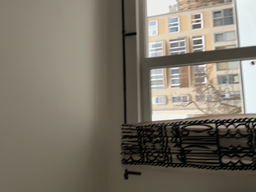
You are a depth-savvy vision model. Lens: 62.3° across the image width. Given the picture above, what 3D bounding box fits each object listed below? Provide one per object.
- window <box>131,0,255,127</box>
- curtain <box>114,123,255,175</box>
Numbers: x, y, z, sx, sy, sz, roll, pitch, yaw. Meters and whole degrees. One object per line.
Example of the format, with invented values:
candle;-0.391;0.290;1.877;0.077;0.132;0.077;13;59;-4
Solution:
window;1.240;-0.540;1.940;0.180;2.470;1.610;30;-121;-70
curtain;1.110;0.400;1.610;0.230;2.500;0.370;34;-125;-69
